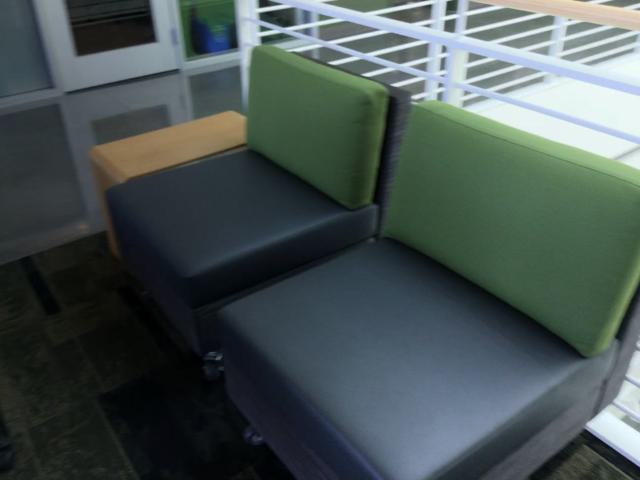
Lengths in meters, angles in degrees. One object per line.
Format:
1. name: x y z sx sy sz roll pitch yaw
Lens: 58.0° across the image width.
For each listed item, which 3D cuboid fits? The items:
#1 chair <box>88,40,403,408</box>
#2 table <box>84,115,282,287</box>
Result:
1. chair: -0.250 -0.130 1.910 0.690 0.910 0.700 -15 29 -30
2. table: -0.530 -0.190 2.360 0.660 0.490 0.350 -18 31 -34
